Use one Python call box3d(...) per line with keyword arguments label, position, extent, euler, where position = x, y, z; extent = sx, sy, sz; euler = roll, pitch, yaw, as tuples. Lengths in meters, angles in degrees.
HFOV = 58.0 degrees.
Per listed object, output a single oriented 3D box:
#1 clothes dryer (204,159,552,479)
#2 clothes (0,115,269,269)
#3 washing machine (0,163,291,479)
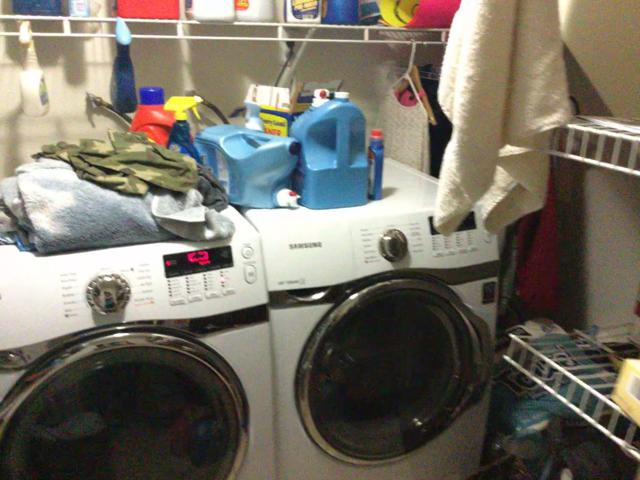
box3d(label="clothes dryer", position=(0.110, 0.310, 1.830), extent=(0.760, 0.990, 0.700), euler=(-6, 19, -24))
box3d(label="clothes", position=(-0.470, -0.140, 1.320), extent=(0.610, 0.240, 0.390), euler=(-6, 19, -24))
box3d(label="washing machine", position=(-0.550, 0.380, 1.550), extent=(0.710, 1.020, 0.730), euler=(-6, 19, -24))
